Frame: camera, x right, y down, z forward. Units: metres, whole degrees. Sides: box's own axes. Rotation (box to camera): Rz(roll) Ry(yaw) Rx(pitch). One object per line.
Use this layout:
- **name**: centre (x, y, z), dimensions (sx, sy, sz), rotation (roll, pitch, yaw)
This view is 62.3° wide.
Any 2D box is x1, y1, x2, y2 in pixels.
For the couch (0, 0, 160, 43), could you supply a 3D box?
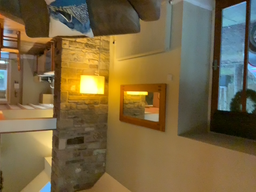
- **couch**: centre (-0.590, -1.070, 2.080), dimensions (1.680, 0.780, 1.150), rotation (2, -178, 15)

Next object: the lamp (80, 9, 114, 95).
- **lamp**: centre (-0.570, -0.770, 3.970), dimensions (0.440, 1.480, 0.510), rotation (2, -178, 12)
